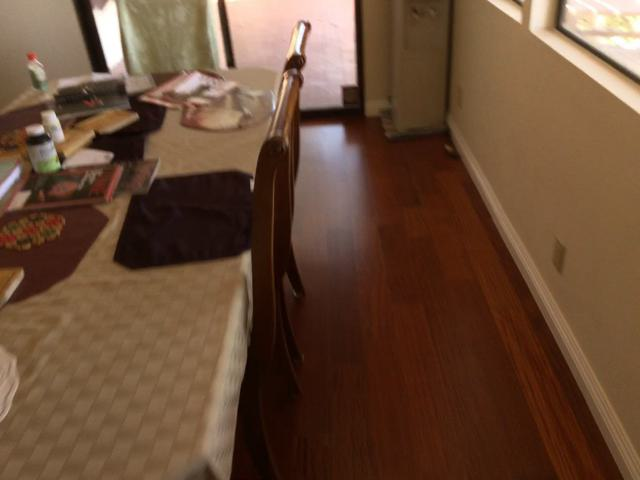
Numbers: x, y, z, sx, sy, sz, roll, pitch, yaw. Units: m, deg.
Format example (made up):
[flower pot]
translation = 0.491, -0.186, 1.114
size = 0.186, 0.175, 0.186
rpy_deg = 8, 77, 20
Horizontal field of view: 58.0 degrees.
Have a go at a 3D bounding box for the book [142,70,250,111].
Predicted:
[book]
translation = -0.460, -0.570, 2.180
size = 0.270, 0.040, 0.310
rpy_deg = 12, 34, 22
